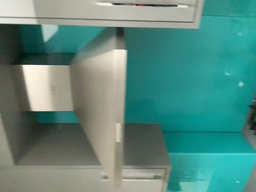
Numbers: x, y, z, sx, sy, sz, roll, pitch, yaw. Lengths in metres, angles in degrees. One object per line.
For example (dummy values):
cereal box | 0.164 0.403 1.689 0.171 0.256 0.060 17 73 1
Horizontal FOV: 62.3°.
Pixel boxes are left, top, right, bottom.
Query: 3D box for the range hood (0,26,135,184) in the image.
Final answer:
range hood | -0.370 0.020 0.980 0.480 0.740 0.550 -95 7 -60
